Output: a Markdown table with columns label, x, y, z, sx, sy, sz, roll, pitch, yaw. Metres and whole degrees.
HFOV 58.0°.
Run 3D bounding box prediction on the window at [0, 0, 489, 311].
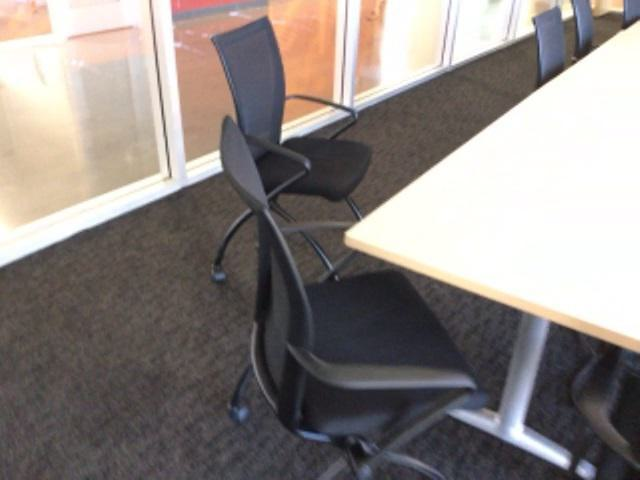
| label | x | y | z | sx | sy | sz | roll | pitch | yaw |
| --- | --- | --- | --- | --- | --- | --- | --- | --- | --- |
| window | -0.130 | -1.200 | 3.270 | 0.290 | 1.360 | 4.760 | 23 | 39 | 31 |

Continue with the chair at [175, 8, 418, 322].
| label | x | y | z | sx | sy | sz | roll | pitch | yaw |
| --- | --- | --- | --- | --- | --- | --- | --- | --- | --- |
| chair | -0.050 | -0.310 | 2.180 | 0.600 | 0.910 | 0.640 | 13 | 35 | 19 |
